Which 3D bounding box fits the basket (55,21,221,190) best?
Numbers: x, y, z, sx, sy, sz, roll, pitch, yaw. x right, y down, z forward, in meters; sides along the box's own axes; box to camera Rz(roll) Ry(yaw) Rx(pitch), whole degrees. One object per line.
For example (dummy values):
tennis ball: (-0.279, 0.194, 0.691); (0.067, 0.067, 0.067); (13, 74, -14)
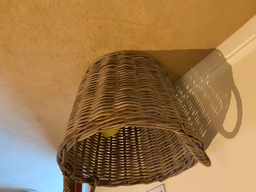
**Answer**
basket: (0.000, 0.080, 0.910); (0.400, 0.450, 0.470); (21, 133, -30)
